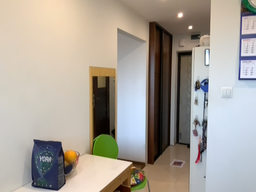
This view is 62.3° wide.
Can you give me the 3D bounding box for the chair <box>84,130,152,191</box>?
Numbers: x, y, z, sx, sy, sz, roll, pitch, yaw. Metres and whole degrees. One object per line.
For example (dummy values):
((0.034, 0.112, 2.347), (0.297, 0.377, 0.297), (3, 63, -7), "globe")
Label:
((-0.100, 0.850, 2.200), (0.550, 0.850, 0.440), (3, 5, 31), "chair")
